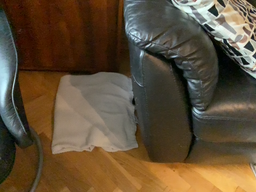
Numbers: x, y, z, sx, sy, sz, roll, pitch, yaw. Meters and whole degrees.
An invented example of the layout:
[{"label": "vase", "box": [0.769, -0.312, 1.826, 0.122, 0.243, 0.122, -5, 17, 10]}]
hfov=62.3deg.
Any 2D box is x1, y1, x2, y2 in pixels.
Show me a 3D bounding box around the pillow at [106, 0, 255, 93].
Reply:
[{"label": "pillow", "box": [0.300, -0.310, 0.790, 0.650, 0.170, 0.410, 33, 50, 24]}]
